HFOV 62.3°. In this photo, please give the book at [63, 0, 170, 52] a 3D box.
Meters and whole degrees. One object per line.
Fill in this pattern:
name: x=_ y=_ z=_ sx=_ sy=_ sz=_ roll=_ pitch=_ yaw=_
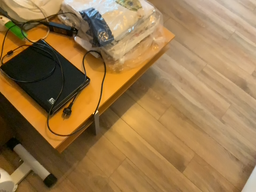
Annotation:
book: x=-0.060 y=-0.530 z=1.180 sx=0.420 sy=0.120 sz=0.420 roll=41 pitch=68 yaw=11
